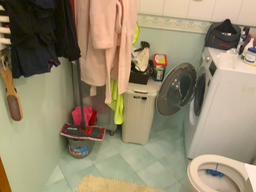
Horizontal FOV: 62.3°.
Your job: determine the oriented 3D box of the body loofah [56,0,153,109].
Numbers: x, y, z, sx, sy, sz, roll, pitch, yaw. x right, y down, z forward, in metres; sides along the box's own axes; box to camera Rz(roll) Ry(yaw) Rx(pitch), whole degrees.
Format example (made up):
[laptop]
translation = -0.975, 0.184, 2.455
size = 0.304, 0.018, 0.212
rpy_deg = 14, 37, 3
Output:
[body loofah]
translation = -0.190, -0.670, 1.470
size = 0.380, 1.340, 0.630
rpy_deg = -18, 39, -34
